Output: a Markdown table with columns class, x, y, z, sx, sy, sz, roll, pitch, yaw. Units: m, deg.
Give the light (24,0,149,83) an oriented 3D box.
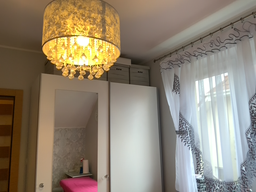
| class | x | y | z | sx | sy | sz | roll | pitch | yaw |
| --- | --- | --- | --- | --- | --- | --- | --- | --- | --- |
| light | -0.240 | -0.510 | 1.190 | 0.460 | 0.560 | 0.750 | -144 | -120 | -63 |
